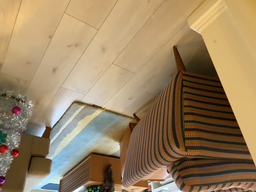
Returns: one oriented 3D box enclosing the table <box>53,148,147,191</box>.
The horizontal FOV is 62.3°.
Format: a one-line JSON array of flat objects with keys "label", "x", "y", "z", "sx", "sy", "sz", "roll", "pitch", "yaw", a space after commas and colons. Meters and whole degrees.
[{"label": "table", "x": -0.430, "y": 1.150, "z": 2.910, "sx": 0.830, "sy": 0.360, "sz": 1.120, "roll": 19, "pitch": 138, "yaw": -28}]
